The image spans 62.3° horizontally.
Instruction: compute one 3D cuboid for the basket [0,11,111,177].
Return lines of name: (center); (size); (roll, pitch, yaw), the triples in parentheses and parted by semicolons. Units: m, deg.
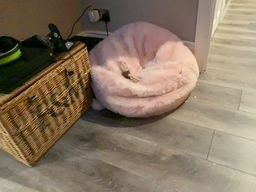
basket: (-0.510, -0.090, 1.140); (0.470, 0.460, 0.740); (14, 43, 23)
